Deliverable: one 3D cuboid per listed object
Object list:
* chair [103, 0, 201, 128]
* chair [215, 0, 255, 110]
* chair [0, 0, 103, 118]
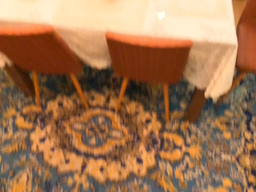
[{"bbox_3d":[0.150,-0.240,1.360,0.410,0.770,0.530,10,57,7],"label":"chair"},{"bbox_3d":[0.940,-0.340,1.430,0.430,0.770,0.530,11,57,7],"label":"chair"},{"bbox_3d":[-0.480,-0.310,1.400,0.420,0.780,0.530,10,57,7],"label":"chair"}]
